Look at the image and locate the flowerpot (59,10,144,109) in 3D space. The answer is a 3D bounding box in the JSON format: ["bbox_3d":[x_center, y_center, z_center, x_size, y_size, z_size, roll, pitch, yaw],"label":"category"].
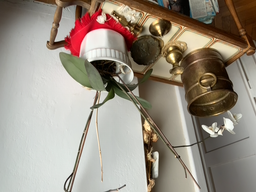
[{"bbox_3d":[-0.100,-0.120,0.770,0.240,0.250,0.180,10,149,-23],"label":"flowerpot"}]
